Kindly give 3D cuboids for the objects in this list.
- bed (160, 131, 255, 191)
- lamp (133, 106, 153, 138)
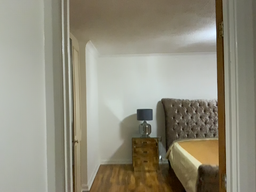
[{"bbox_3d":[1.580,1.090,3.330,1.800,0.610,2.540,-1,0,1],"label":"bed"},{"bbox_3d":[0.300,0.520,4.370,0.350,0.590,0.410,-1,0,0],"label":"lamp"}]
